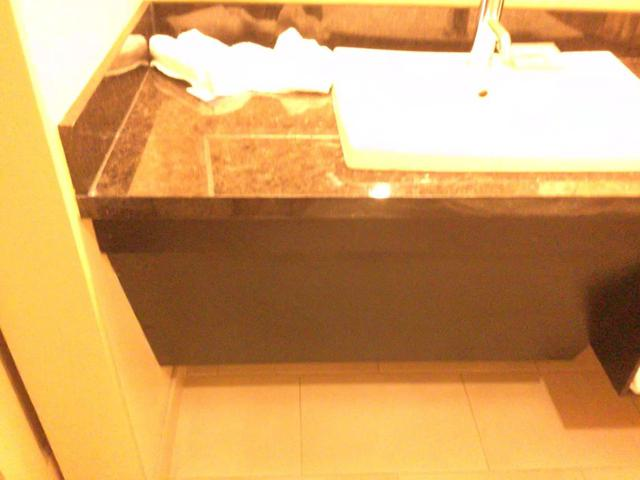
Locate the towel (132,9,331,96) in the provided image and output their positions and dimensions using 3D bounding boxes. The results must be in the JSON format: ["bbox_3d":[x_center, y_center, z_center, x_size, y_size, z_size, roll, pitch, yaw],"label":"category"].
[{"bbox_3d":[-0.160,-0.370,1.130,0.350,0.080,0.200,2,39,-3],"label":"towel"}]
